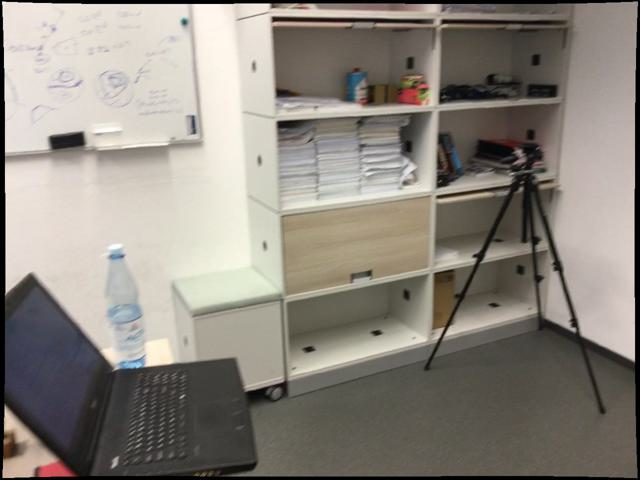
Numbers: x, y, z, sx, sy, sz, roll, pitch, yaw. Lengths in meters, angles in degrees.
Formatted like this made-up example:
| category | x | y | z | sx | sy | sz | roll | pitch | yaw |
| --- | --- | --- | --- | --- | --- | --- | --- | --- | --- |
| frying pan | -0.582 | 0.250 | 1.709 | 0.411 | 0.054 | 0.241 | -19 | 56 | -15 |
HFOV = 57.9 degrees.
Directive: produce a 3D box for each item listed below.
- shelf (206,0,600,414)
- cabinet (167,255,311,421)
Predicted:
| category | x | y | z | sx | sy | sz | roll | pitch | yaw |
| --- | --- | --- | --- | --- | --- | --- | --- | --- | --- |
| shelf | 0.420 | -0.501 | 2.780 | 1.699 | 2.252 | 0.560 | -10 | 19 | -21 |
| cabinet | -0.380 | 0.430 | 2.700 | 0.530 | 0.540 | 0.420 | -10 | 19 | -21 |
